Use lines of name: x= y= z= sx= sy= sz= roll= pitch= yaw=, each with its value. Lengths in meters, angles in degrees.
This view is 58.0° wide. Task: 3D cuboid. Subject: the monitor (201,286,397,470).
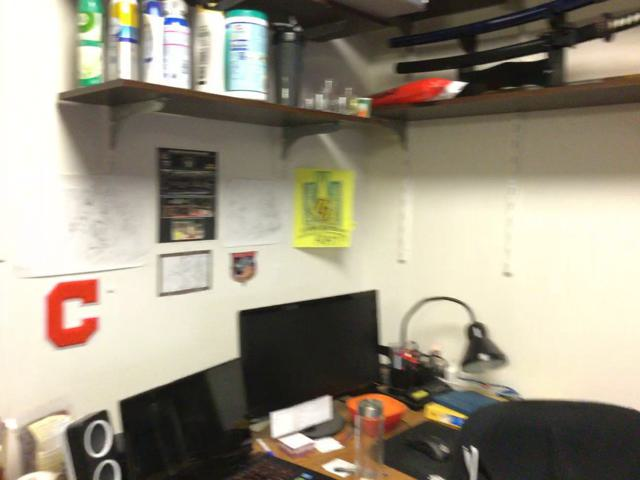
monitor: x=-0.050 y=0.370 z=1.730 sx=0.300 sy=0.380 sz=0.520 roll=4 pitch=6 yaw=44

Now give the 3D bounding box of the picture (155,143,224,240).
picture: x=-0.380 y=-0.140 z=1.700 sx=0.040 sy=0.270 sz=0.210 roll=4 pitch=6 yaw=44

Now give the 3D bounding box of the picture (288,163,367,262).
picture: x=0.030 y=-0.100 z=2.060 sx=0.100 sy=0.330 sz=0.300 roll=4 pitch=6 yaw=44
